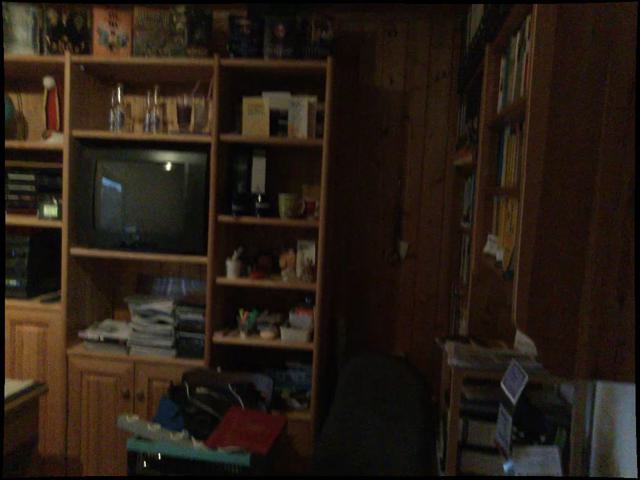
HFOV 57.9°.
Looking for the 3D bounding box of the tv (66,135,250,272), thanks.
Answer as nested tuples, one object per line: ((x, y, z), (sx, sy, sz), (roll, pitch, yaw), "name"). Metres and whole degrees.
((-0.729, -0.180, 2.680), (0.679, 0.531, 0.440), (5, 6, 8), "tv")

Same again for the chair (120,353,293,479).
((-0.430, 0.971, 2.310), (0.480, 0.831, 0.610), (5, 6, 8), "chair")
